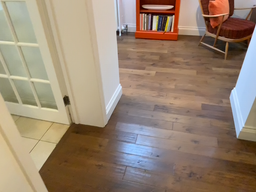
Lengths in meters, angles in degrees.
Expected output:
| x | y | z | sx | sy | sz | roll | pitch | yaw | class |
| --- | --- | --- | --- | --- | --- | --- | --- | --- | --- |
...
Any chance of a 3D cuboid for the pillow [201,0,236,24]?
| x | y | z | sx | sy | sz | roll | pitch | yaw | class |
| --- | --- | --- | --- | --- | --- | --- | --- | --- | --- |
| 1.290 | -1.240 | 3.030 | 0.380 | 0.350 | 0.160 | -21 | 62 | -44 | pillow |
